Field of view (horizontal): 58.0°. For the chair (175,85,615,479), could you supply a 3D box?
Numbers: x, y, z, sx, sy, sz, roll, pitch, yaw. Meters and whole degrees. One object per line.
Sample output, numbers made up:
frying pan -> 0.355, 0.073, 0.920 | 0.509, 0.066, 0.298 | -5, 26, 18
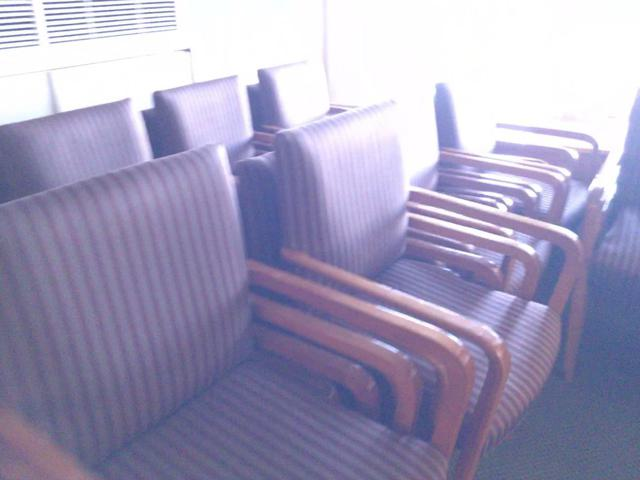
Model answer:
chair -> 0.220, 0.260, 1.380 | 0.650, 1.130, 0.710 | 11, 25, 30
